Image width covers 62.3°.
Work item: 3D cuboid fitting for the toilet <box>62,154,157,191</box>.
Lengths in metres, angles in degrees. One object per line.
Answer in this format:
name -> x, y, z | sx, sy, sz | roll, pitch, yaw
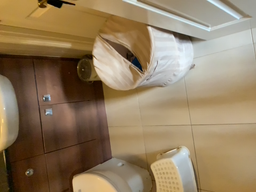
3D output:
toilet -> -0.130, 0.680, 1.510 | 0.500, 0.430, 0.380 | -8, 88, 44
